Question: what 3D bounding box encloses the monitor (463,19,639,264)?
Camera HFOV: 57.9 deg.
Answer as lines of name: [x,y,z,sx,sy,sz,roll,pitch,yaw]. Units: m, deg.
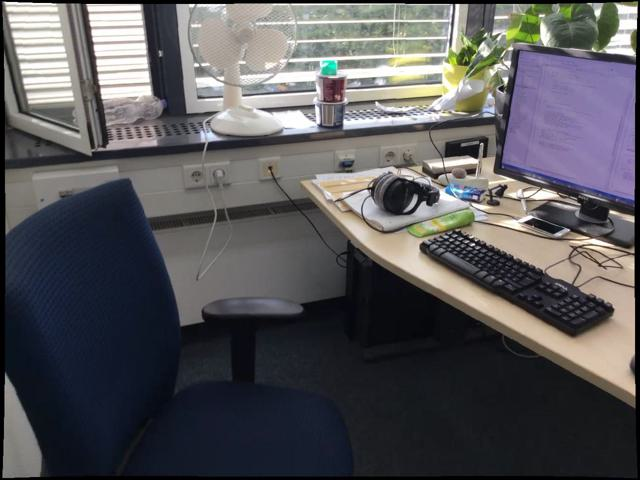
monitor: [0.719,-0.260,1.420,0.310,0.450,0.600,-22,35,-35]
